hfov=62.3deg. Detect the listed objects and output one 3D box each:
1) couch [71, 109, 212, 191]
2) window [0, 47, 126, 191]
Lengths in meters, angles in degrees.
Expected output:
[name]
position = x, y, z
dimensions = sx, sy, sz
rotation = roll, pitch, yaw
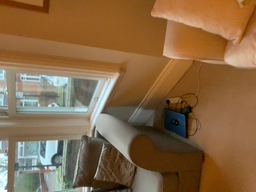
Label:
[couch]
position = 0.000, 1.010, 2.180
dimensions = 1.060, 0.940, 1.570
rotation = -162, 76, -63
[window]
position = -1.230, 0.830, 2.030
dimensions = 0.880, 2.030, 2.500
rotation = -164, 78, -64
